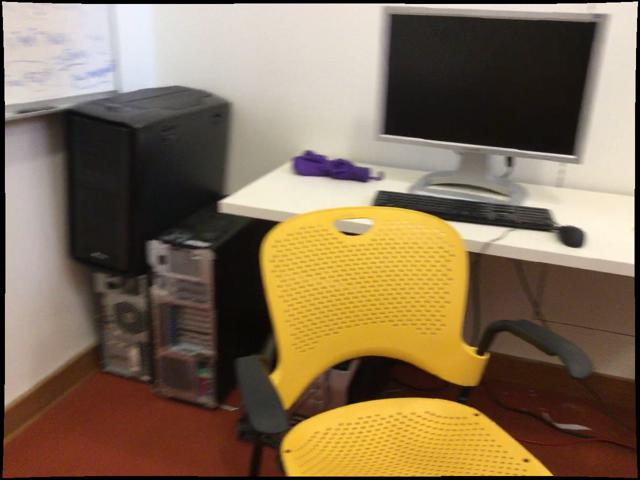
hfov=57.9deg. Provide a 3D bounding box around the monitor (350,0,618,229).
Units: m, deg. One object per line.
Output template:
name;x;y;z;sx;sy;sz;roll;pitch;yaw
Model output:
monitor;0.430;-0.380;1.630;0.579;0.520;0.340;11;24;14

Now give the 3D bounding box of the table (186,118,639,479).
table;0.499;0.180;1.720;1.619;0.761;0.670;11;24;14

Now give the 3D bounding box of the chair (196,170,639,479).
chair;0.130;0.380;1.130;0.550;0.811;0.770;-7;26;-24
